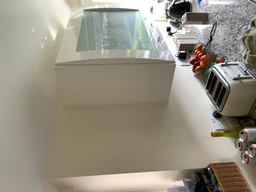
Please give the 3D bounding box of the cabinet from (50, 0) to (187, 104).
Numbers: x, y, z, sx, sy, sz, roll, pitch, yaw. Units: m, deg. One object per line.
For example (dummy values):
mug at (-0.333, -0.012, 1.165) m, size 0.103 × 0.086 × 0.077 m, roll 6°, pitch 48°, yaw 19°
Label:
cabinet at (-0.100, -0.420, 1.690) m, size 1.000 × 0.770 × 0.360 m, roll -99°, pitch 10°, yaw -49°
